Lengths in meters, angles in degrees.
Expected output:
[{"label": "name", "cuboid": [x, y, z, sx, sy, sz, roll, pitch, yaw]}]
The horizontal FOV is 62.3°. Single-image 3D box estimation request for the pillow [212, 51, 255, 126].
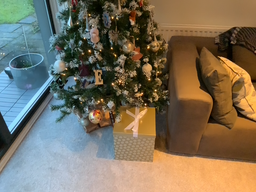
[{"label": "pillow", "cuboid": [0.870, -0.070, 1.610, 0.120, 0.440, 0.480, 36, 46, -8]}]
